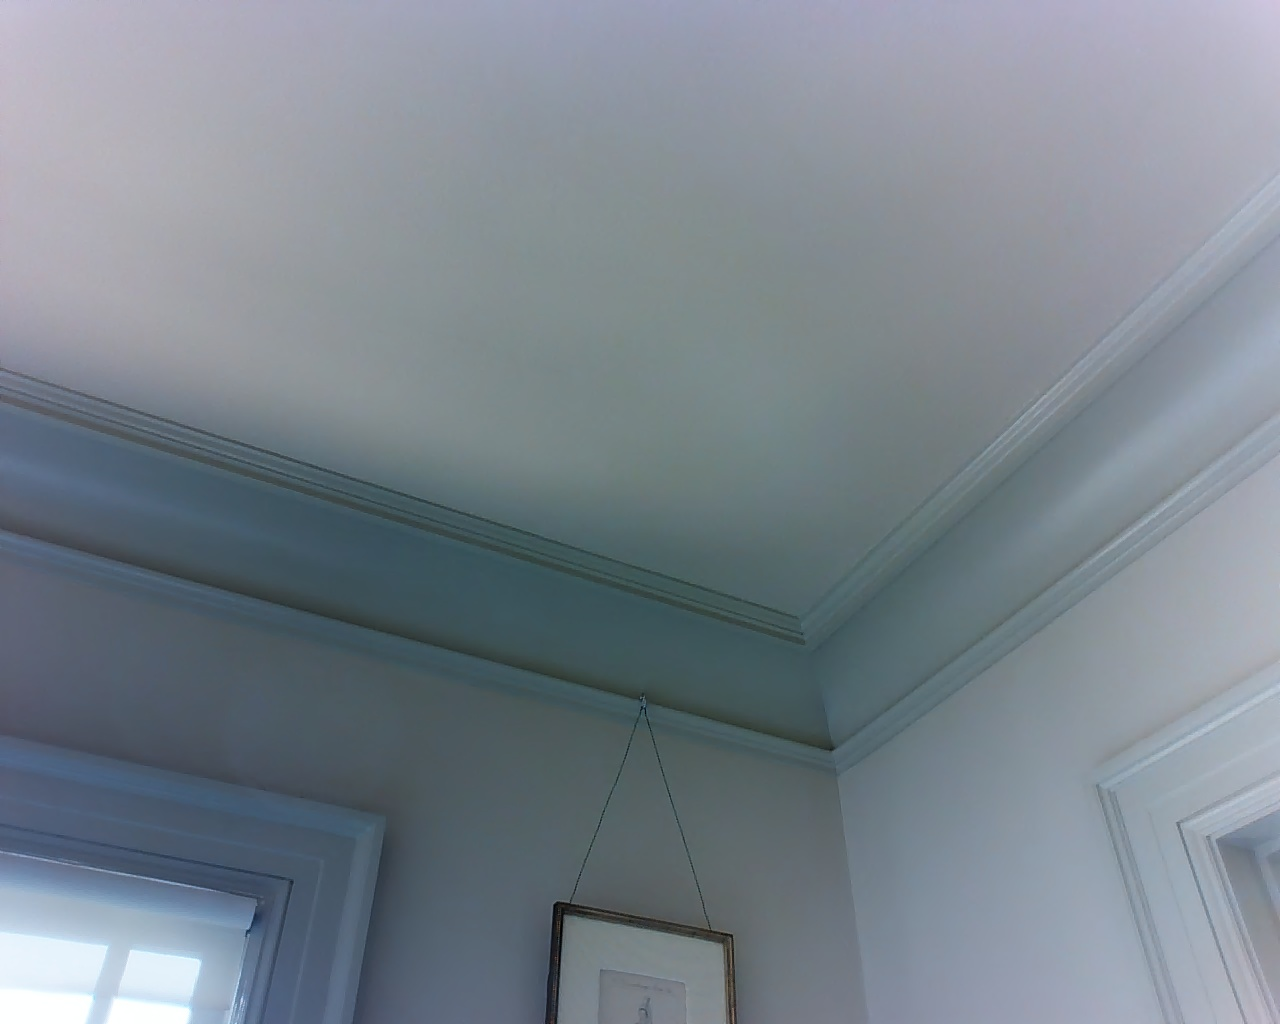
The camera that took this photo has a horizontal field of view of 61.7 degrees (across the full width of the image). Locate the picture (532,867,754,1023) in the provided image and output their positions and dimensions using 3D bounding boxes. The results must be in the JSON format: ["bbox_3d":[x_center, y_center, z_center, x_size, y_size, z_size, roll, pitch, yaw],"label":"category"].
[{"bbox_3d":[0.010,0.820,1.670,0.360,0.460,0.060,18,-44,-20],"label":"picture"}]
